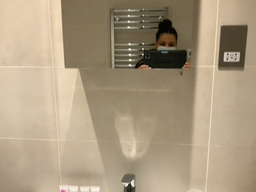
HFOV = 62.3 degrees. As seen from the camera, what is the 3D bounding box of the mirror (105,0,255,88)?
[{"bbox_3d":[0.210,-0.430,0.710,0.580,0.800,0.040,1,11,7],"label":"mirror"}]
